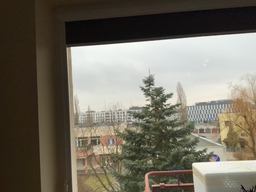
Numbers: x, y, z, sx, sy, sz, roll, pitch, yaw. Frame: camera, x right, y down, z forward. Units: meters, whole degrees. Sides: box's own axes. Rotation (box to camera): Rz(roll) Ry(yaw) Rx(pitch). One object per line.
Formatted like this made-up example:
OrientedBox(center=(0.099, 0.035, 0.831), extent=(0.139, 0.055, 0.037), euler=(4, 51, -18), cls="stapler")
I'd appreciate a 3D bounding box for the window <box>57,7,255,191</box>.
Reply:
OrientedBox(center=(0.350, 0.170, 1.340), extent=(1.520, 1.360, 0.180), euler=(-3, -5, 2), cls="window")
